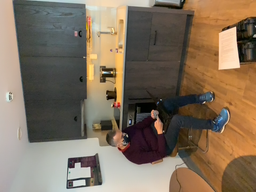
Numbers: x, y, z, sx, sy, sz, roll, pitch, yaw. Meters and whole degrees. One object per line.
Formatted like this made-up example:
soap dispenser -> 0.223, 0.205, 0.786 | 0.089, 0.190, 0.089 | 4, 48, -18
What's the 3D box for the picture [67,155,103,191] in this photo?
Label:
picture -> -0.520, 0.900, 2.550 | 0.540, 0.380, 0.030 | -122, 33, -66
